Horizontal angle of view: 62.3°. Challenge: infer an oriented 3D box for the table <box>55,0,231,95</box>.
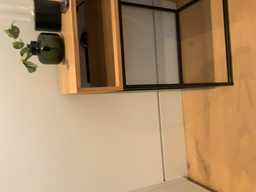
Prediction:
[{"bbox_3d":[0.060,-0.230,0.820,0.270,0.600,0.400,178,87,-65],"label":"table"}]
